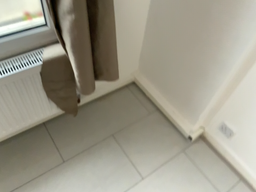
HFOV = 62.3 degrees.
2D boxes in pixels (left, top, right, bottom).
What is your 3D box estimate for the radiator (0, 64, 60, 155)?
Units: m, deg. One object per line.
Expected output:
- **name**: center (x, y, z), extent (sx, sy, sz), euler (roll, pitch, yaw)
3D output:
- **radiator**: center (-0.830, 0.220, 0.920), extent (1.020, 0.480, 0.060), euler (-25, 59, -24)
